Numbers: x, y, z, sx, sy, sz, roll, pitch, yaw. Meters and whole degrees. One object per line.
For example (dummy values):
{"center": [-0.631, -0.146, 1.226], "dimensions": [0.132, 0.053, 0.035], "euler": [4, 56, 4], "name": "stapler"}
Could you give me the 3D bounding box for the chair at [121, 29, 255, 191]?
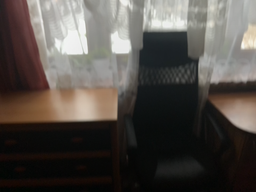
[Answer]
{"center": [0.260, 0.210, 1.400], "dimensions": [0.560, 1.170, 0.540], "euler": [-3, 26, -4], "name": "chair"}
